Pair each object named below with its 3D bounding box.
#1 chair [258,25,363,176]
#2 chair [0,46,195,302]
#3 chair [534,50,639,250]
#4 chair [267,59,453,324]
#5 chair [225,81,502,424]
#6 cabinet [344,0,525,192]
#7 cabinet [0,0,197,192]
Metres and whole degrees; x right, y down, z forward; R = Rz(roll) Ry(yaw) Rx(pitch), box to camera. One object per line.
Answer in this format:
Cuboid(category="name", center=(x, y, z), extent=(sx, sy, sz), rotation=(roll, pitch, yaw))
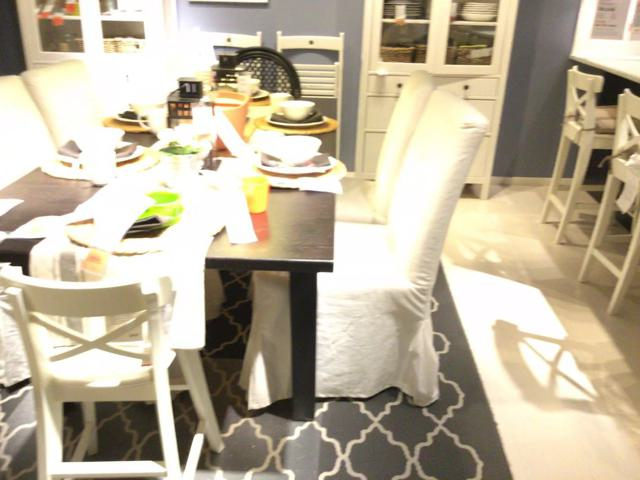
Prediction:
Cuboid(category="chair", center=(-0.070, -0.930, 3.910), extent=(0.670, 0.970, 0.120), rotation=(2, 23, 1))
Cuboid(category="chair", center=(-0.900, -0.300, 2.470), extent=(0.540, 0.950, 0.560), rotation=(2, 23, 1))
Cuboid(category="chair", center=(1.560, -0.500, 3.060), extent=(0.490, 0.900, 0.700), rotation=(2, 23, 1))
Cuboid(category="chair", center=(0.140, -0.250, 2.520), extent=(0.640, 0.950, 0.740), rotation=(2, 23, 1))
Cuboid(category="chair", center=(0.110, 0.010, 1.960), extent=(0.710, 0.970, 0.630), rotation=(2, 23, 1))
Cuboid(category="cabinet", center=(0.670, -1.320, 3.500), extent=(0.970, 2.000, 0.420), rotation=(2, 25, 1))
Cuboid(category="cabinet", center=(-1.480, -1.380, 3.590), extent=(1.200, 2.090, 0.440), rotation=(2, 23, 1))
